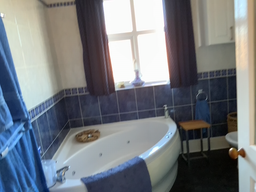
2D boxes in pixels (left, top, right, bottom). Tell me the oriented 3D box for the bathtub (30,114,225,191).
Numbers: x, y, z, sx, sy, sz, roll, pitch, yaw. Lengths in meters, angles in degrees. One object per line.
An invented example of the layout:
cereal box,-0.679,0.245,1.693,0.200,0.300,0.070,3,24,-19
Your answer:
bathtub,-0.010,0.750,2.260,1.420,0.590,1.390,-7,12,-3

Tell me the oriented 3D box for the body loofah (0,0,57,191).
body loofah,-0.670,0.120,1.160,0.170,1.270,0.520,-6,12,1
